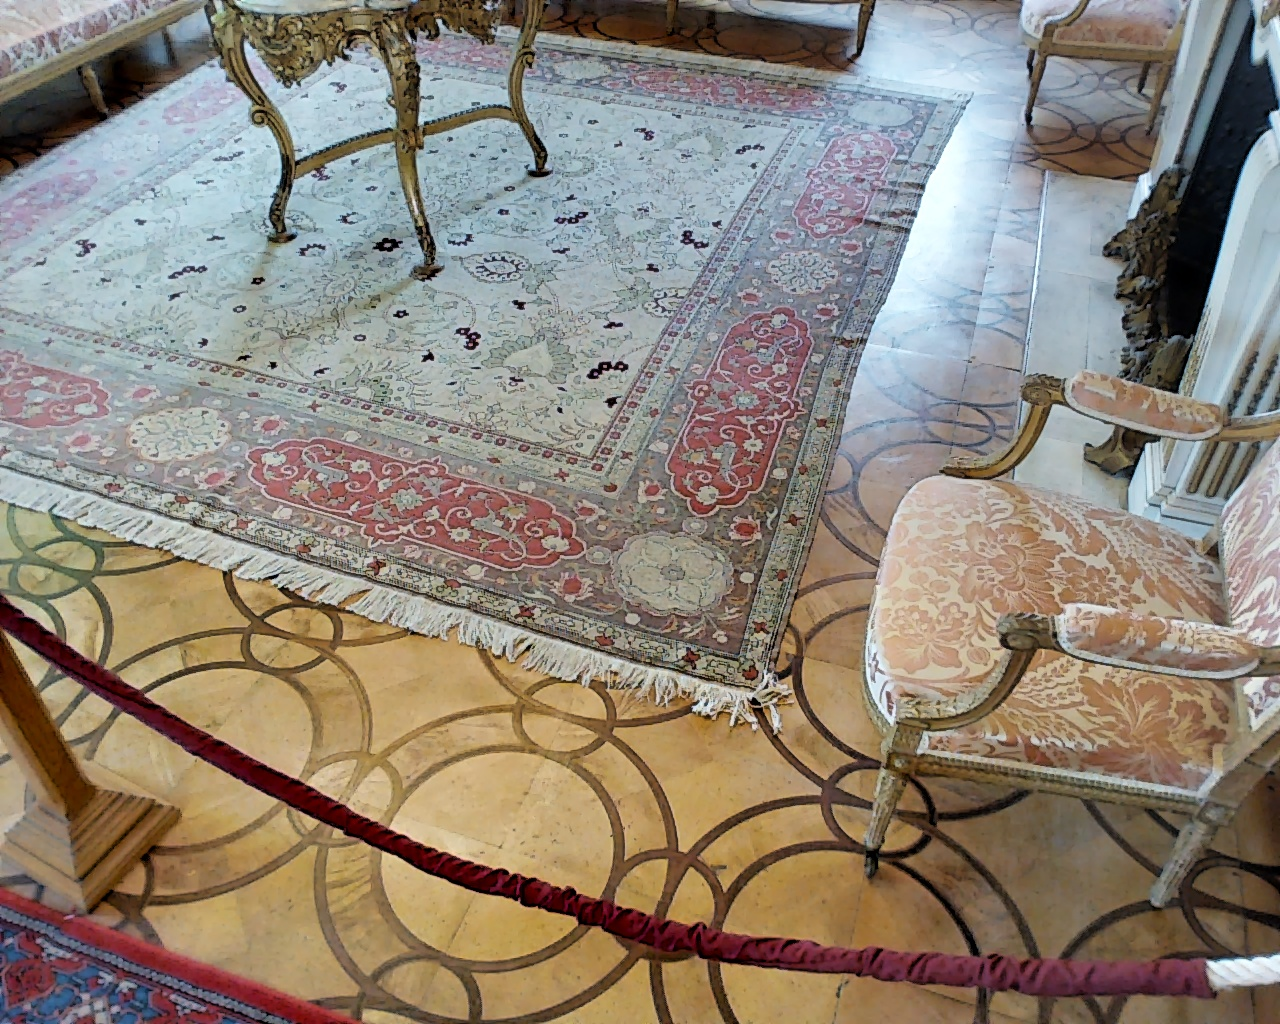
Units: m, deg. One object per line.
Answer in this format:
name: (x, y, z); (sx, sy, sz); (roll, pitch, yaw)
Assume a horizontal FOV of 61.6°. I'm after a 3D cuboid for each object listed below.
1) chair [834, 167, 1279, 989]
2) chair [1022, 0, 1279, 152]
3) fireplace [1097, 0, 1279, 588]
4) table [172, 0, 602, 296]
chair: (0.820, 0.110, 1.770); (0.750, 1.020, 0.680); (13, 43, 15)
chair: (2.049, -2.111, 4.280); (0.780, 1.010, 0.730); (10, 42, 12)
fireplace: (1.630, -0.900, 2.740); (0.500, 1.210, 1.880); (13, 43, 15)
table: (-0.740, -1.450, 3.620); (0.830, 0.830, 1.190); (13, 43, 15)
